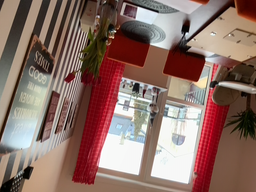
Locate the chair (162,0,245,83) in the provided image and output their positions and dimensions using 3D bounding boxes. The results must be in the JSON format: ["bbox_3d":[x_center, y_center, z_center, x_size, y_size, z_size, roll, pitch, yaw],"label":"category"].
[{"bbox_3d":[0.660,-0.660,1.870,0.350,0.950,0.580,15,172,-9],"label":"chair"}]

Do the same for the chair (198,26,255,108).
[{"bbox_3d":[1.480,-0.360,2.970,0.610,0.910,0.550,14,172,-7],"label":"chair"}]

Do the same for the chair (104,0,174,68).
[{"bbox_3d":[0.120,-0.800,1.790,0.380,0.950,0.580,15,172,-9],"label":"chair"}]
